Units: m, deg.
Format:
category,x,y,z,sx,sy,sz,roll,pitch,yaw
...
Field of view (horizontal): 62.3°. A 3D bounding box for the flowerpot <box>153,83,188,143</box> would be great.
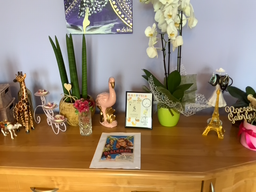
category,x,y,z,sx,sy,sz,roll,pitch,yaw
flowerpot,0.230,0.090,1.200,0.170,0.290,0.170,1,18,6
